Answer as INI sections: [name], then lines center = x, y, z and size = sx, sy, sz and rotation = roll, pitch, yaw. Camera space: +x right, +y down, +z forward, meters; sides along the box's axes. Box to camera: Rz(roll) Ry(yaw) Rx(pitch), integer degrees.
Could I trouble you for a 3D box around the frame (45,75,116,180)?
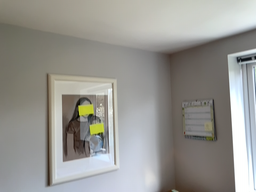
[frame]
center = -0.350, 0.220, 1.660
size = 0.560, 0.710, 0.080
rotation = 1, -4, -42
